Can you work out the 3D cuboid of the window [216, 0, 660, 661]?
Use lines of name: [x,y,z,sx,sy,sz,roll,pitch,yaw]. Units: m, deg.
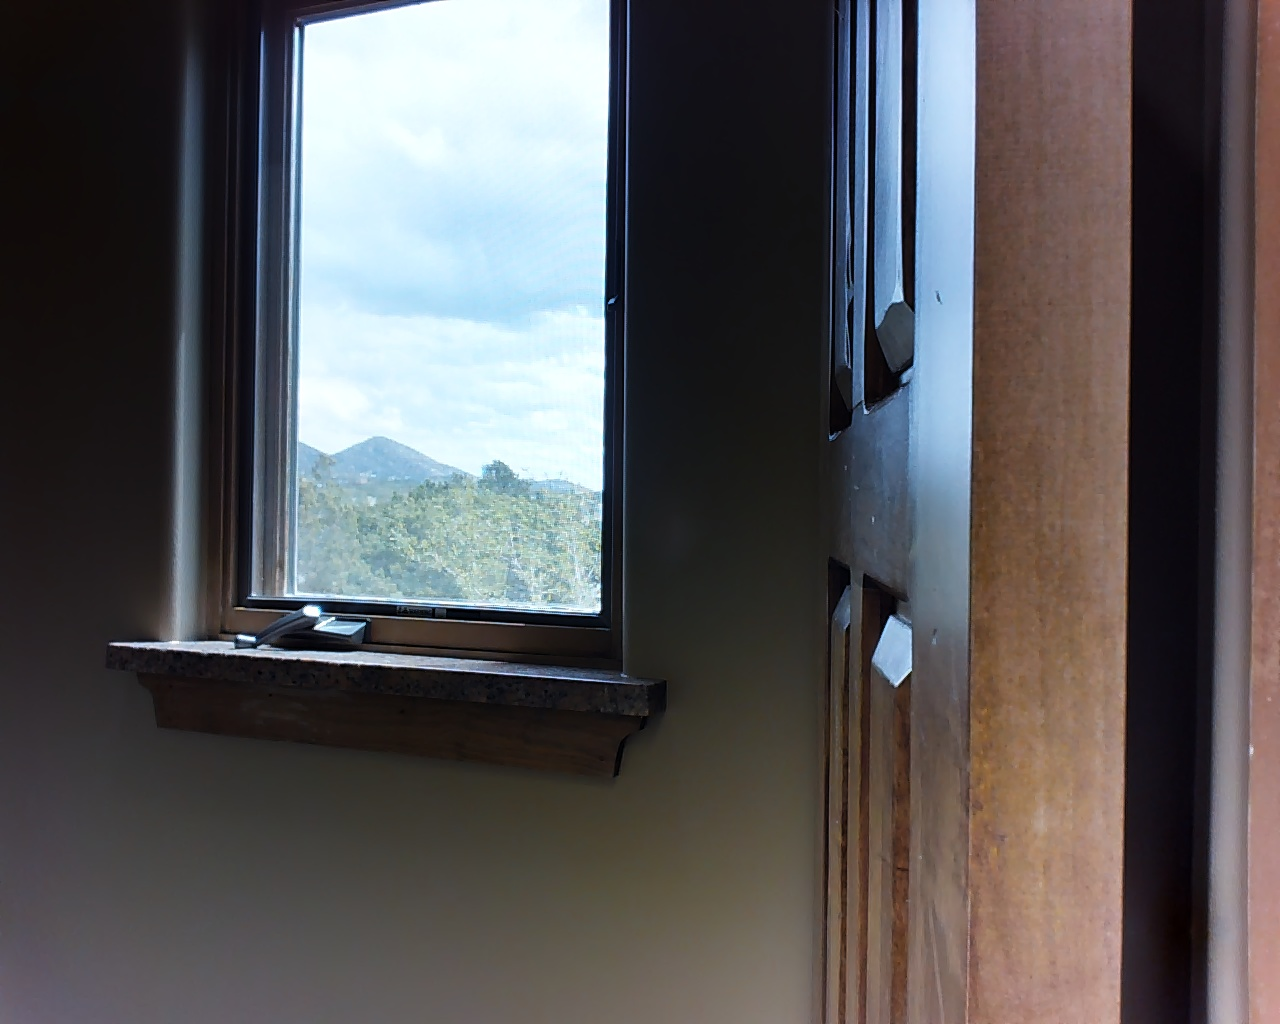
window: [-0.250,-0.230,1.270,0.540,0.770,0.100,0,0,22]
